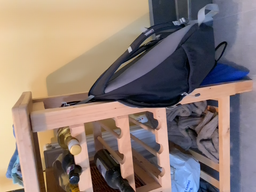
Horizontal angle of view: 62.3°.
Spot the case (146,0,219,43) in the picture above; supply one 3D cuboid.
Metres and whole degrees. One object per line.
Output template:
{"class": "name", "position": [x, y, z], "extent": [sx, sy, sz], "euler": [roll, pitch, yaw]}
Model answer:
{"class": "case", "position": [0.240, -0.520, 1.040], "extent": [0.300, 0.180, 0.440], "euler": [180, 82, -67]}
